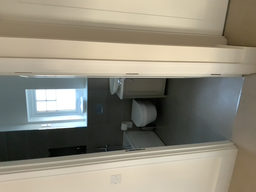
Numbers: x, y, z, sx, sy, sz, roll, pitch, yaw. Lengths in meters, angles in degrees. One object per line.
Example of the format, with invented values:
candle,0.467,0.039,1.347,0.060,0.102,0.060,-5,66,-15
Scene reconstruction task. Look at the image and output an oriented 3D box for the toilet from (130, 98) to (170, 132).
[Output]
toilet,0.330,0.280,3.410,0.510,0.450,0.370,-137,48,-67
